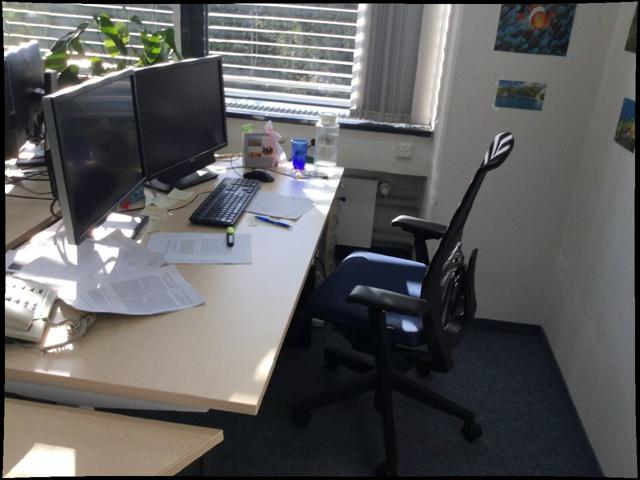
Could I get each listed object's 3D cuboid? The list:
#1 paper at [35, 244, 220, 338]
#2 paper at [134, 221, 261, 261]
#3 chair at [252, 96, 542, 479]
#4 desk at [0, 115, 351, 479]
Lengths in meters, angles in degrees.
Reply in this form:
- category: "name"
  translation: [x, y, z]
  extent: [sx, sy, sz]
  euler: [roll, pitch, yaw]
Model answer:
- category: "paper"
  translation: [-0.440, 0.110, 1.390]
  extent: [0.320, 0.050, 0.320]
  euler: [4, 25, 5]
- category: "paper"
  translation: [-0.340, 0.000, 1.670]
  extent: [0.330, 0.010, 0.250]
  euler: [0, 25, -4]
- category: "chair"
  translation: [0.250, 0.140, 1.960]
  extent: [0.660, 1.061, 0.700]
  euler: [14, 27, 25]
- category: "desk"
  translation: [-0.420, 0.220, 1.950]
  extent: [0.879, 0.781, 2.090]
  euler: [4, 25, 5]
